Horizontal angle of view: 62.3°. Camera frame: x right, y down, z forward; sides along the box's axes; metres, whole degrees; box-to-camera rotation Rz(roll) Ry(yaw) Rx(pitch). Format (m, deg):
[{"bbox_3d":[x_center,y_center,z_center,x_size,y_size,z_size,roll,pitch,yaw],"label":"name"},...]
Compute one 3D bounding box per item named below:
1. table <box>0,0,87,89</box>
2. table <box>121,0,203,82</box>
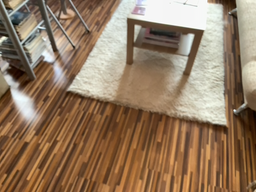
[{"bbox_3d":[-0.820,-0.790,1.780,0.420,0.790,1.190,14,51,9],"label":"table"},{"bbox_3d":[0.330,-0.670,1.960,0.560,0.480,0.910,13,51,8],"label":"table"}]
